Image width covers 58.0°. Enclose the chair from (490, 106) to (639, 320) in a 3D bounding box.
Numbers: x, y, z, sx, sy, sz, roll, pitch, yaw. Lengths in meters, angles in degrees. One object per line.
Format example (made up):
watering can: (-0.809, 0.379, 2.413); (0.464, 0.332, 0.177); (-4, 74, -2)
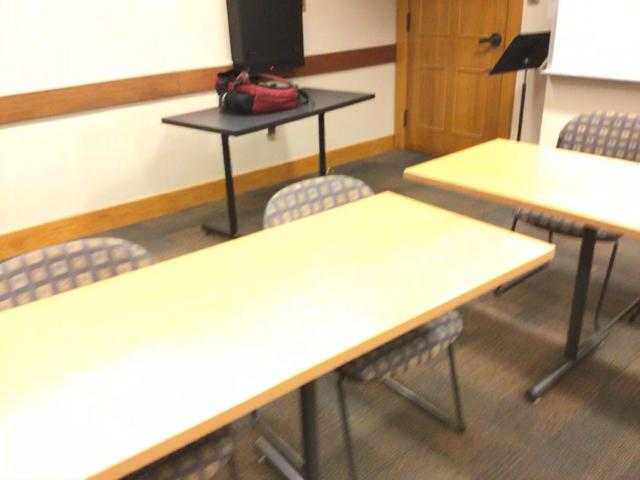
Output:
chair: (1.080, -0.150, 2.380); (0.520, 0.670, 0.510); (-20, 26, -31)
